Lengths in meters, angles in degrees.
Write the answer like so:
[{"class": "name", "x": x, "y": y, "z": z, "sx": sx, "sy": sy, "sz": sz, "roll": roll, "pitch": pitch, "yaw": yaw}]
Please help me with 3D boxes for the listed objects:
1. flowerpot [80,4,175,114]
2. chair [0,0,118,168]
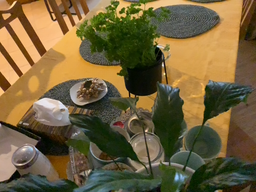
[{"class": "flowerpot", "x": 0.020, "y": -0.120, "z": 0.700, "sx": 0.220, "sy": 0.280, "sz": 0.190, "roll": 9, "pitch": 49, "yaw": 17}, {"class": "chair", "x": -0.410, "y": -0.020, "z": 1.290, "sx": 0.440, "sy": 0.980, "sz": 0.390, "roll": 11, "pitch": 50, "yaw": 18}]
